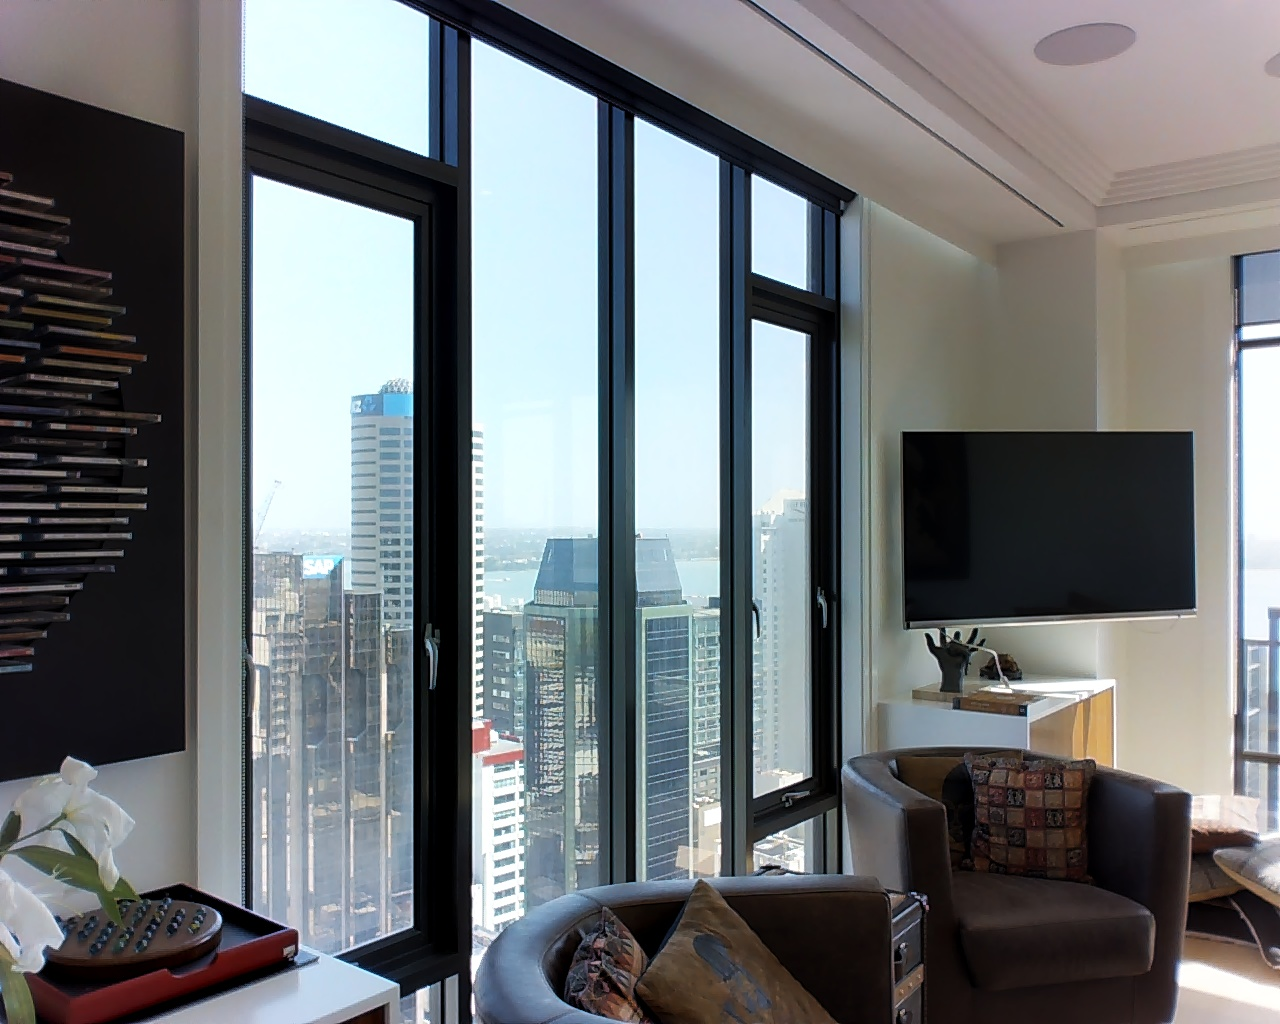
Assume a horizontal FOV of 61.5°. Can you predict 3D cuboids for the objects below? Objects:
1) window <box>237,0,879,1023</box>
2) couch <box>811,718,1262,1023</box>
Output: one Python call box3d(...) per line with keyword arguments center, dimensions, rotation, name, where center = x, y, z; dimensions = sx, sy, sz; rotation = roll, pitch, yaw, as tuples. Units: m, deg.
box3d(center=(0.040, 0.140, 2.910), dimensions=(0.160, 2.561, 2.370), rotation=(1, 1, 38), name="window")
box3d(center=(1.040, 1.020, 3.010), dimensions=(0.840, 0.680, 0.870), rotation=(0, 1, -13), name="couch")
